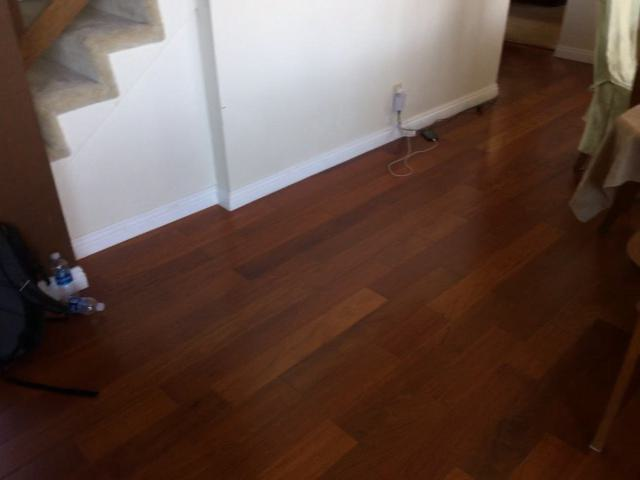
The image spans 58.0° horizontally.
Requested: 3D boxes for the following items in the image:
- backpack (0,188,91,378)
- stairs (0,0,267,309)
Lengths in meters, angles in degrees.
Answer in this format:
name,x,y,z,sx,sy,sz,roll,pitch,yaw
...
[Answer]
name,x,y,z,sx,sy,sz,roll,pitch,yaw
backpack,-1.150,0.170,1.910,0.530,0.440,0.410,-26,37,-34
stairs,-1.240,-0.570,2.420,1.750,1.210,0.890,-27,38,-35
